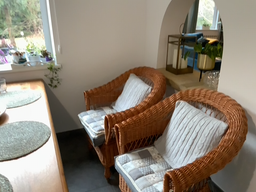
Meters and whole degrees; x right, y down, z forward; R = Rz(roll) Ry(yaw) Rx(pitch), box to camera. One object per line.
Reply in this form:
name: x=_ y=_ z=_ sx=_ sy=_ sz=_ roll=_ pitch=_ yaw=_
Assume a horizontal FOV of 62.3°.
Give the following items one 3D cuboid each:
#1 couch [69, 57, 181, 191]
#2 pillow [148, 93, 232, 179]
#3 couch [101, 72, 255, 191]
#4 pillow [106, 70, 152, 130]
couch: x=-0.060 y=0.190 z=2.040 sx=0.740 sy=0.930 sz=0.710 roll=-11 pitch=25 yaw=-26
pillow: x=0.400 y=0.280 z=1.470 sx=0.240 sy=0.470 sz=0.390 roll=-12 pitch=-11 yaw=-26
couch: x=0.300 y=0.420 z=1.460 sx=0.700 sy=0.930 sz=0.730 roll=-11 pitch=25 yaw=-26
pillow: x=-0.010 y=0.050 z=2.010 sx=0.190 sy=0.480 sz=0.370 roll=-11 pitch=-7 yaw=-26
